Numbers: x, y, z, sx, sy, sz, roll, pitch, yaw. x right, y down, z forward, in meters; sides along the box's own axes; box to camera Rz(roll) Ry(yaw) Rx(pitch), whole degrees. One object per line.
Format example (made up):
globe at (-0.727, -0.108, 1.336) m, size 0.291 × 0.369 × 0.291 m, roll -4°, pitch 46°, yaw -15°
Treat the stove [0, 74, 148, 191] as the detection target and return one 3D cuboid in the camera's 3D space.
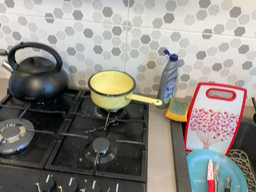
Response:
stove at (-0.240, 0.100, 0.740) m, size 0.610 × 0.020 × 0.550 m, roll 7°, pitch 35°, yaw 2°
